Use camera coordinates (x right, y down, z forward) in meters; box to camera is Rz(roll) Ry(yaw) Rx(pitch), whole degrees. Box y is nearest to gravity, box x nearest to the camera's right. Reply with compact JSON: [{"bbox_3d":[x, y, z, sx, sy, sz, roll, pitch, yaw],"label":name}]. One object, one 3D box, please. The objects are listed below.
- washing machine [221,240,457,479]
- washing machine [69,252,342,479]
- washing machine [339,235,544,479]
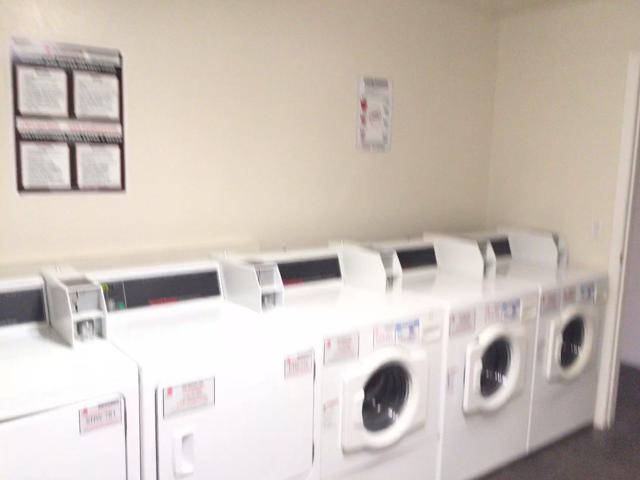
[{"bbox_3d":[0.080,0.590,2.620,0.670,1.040,0.750,-11,10,-35],"label":"washing machine"},{"bbox_3d":[-0.430,0.640,2.220,0.710,1.030,0.690,-11,11,-36],"label":"washing machine"},{"bbox_3d":[0.620,0.550,3.010,0.650,1.020,0.760,-10,10,-32],"label":"washing machine"}]
